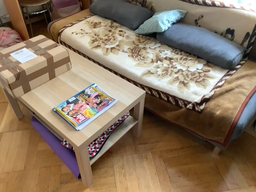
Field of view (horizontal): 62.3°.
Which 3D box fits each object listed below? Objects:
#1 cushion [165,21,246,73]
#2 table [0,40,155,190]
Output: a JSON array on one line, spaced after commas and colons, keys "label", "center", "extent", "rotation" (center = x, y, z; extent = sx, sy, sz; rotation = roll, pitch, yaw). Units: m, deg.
[{"label": "cushion", "center": [0.620, -0.420, 1.750], "extent": [0.540, 0.150, 0.290], "rotation": [30, 49, 26]}, {"label": "table", "center": [-0.370, 0.060, 1.550], "extent": [0.890, 0.460, 0.600], "rotation": [33, 51, 28]}]
